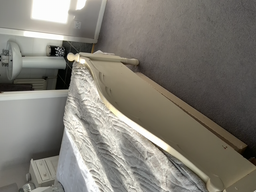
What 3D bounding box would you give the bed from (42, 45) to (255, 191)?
[{"bbox_3d":[-0.100,0.870,1.880,1.550,0.670,2.090,44,125,40],"label":"bed"}]
